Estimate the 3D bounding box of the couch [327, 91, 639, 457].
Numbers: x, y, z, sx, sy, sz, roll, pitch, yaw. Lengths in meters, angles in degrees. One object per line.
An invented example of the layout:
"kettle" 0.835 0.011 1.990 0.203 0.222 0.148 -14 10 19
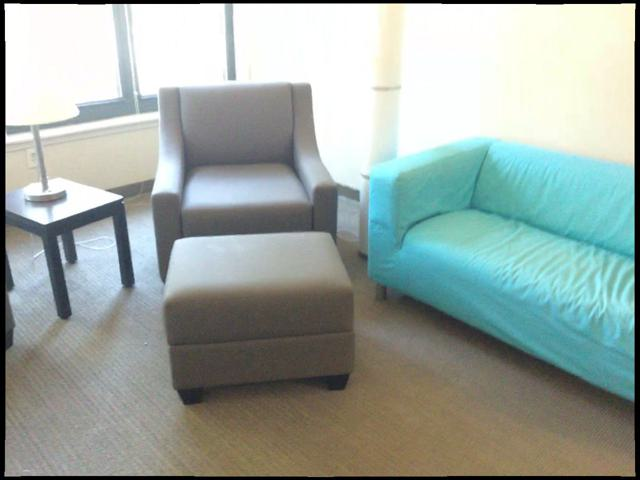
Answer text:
"couch" 1.118 0.060 2.380 1.998 0.811 0.989 27 35 37
